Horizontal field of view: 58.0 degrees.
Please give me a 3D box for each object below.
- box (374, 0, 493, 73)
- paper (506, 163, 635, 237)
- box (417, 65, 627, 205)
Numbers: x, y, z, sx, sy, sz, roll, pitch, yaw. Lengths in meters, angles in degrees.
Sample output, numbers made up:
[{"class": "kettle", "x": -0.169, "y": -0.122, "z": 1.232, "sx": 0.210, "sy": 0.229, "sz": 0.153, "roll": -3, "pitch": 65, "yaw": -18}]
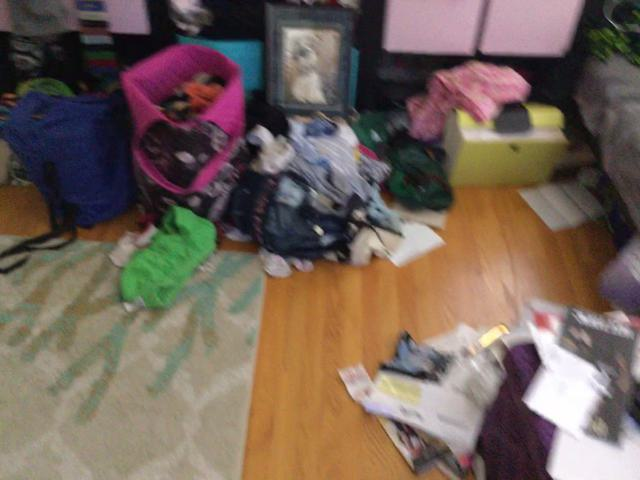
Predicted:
[{"class": "box", "x": 0.400, "y": -0.800, "z": 2.020, "sx": 0.360, "sy": 0.370, "sz": 0.080, "roll": 6, "pitch": 32, "yaw": -3}, {"class": "paper", "x": 0.940, "y": -0.160, "z": 2.170, "sx": 0.420, "sy": 0.050, "sz": 0.240, "roll": -17, "pitch": 48, "yaw": -25}, {"class": "box", "x": 0.720, "y": -0.390, "z": 2.170, "sx": 0.620, "sy": 0.350, "sz": 0.290, "roll": 6, "pitch": 42, "yaw": -3}]
